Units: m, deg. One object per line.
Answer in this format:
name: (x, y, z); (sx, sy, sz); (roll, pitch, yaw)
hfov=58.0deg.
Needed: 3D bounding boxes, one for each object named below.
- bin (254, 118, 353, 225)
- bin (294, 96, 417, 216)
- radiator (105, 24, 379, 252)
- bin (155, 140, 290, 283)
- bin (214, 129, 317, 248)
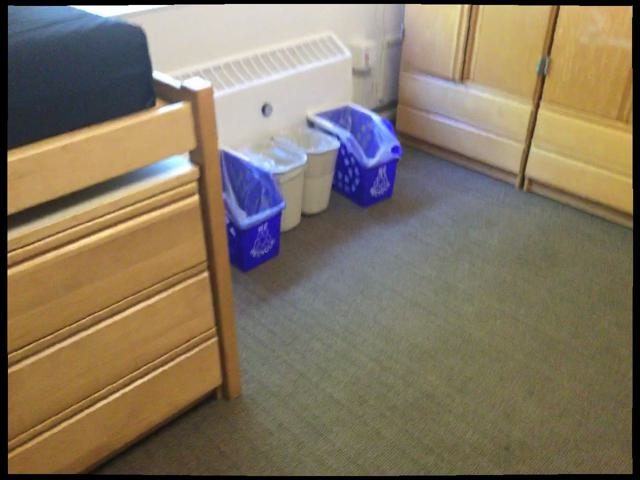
bin: (-0.070, -0.321, 2.630); (0.300, 0.320, 0.320); (-29, 43, -35)
bin: (0.160, -0.411, 2.720); (0.340, 0.350, 0.450); (-29, 43, -35)
radiator: (-0.260, -0.511, 2.610); (1.249, 0.631, 0.260); (-29, 43, -35)
bin: (-0.389, -0.130, 2.330); (0.280, 0.350, 0.470); (-29, 43, -35)
bin: (-0.230, -0.230, 2.490); (0.280, 0.350, 0.320); (-29, 43, -35)
